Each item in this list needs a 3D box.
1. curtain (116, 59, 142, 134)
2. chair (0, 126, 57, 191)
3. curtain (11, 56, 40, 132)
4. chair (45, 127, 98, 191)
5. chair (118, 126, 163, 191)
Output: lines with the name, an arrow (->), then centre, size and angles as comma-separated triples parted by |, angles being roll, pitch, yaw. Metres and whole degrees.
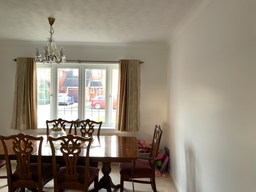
curtain -> 0.020, 0.010, 4.100 | 0.460, 1.430, 0.150 | 1, 2, 3
chair -> -1.230, 0.910, 2.610 | 0.480, 0.970, 0.590 | 1, 2, 3
curtain -> -1.960, -0.040, 4.070 | 0.480, 1.430, 0.160 | 1, 2, 5
chair -> -0.660, 0.920, 2.600 | 0.480, 0.970, 0.570 | 1, 2, 3
chair -> 0.160, 0.950, 3.040 | 0.570, 0.930, 0.630 | 1, 2, 0
